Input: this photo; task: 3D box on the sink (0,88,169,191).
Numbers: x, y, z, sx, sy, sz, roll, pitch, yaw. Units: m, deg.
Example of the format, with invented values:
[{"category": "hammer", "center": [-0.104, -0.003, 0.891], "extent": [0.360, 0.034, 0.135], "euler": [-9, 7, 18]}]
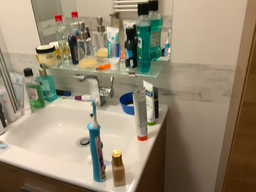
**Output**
[{"category": "sink", "center": [-0.190, 0.150, 0.820], "extent": [0.610, 0.120, 0.450], "euler": [8, 29, 19]}]
